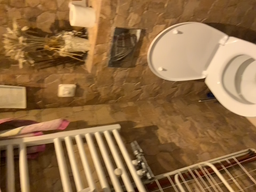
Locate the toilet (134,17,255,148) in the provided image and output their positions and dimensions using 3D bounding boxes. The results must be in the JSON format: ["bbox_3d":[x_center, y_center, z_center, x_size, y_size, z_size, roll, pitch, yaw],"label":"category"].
[{"bbox_3d":[0.550,-0.110,1.180,0.510,0.820,0.380,58,141,41],"label":"toilet"}]
